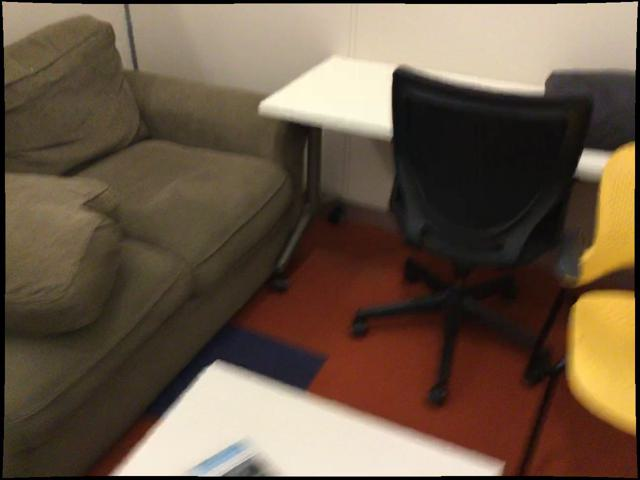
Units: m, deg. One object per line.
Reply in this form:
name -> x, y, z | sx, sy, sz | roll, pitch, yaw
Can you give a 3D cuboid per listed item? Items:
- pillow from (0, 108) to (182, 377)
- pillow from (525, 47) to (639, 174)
pillow -> -0.819, -0.050, 1.460 | 0.729, 0.320, 0.590 | 9, 36, 6
pillow -> 0.919, -0.420, 1.830 | 0.420, 0.180, 0.520 | 8, 36, 6
